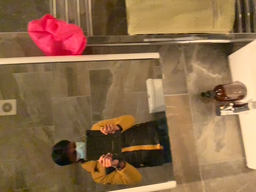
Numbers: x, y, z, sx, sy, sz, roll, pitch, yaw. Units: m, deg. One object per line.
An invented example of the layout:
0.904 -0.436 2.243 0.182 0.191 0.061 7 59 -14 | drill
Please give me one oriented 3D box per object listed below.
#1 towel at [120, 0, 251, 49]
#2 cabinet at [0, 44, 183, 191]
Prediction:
0.230 -0.370 0.910 0.140 0.500 0.280 134 131 -75 | towel
-0.200 0.090 0.780 0.130 0.730 0.520 137 128 -76 | cabinet
